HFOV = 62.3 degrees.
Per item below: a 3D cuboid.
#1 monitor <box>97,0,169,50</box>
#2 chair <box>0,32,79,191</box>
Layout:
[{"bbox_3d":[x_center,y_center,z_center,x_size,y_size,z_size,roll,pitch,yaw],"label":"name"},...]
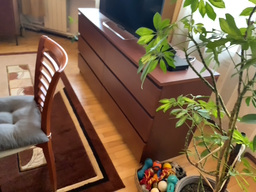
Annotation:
[{"bbox_3d":[-0.010,-0.850,1.770,0.050,0.560,1.010,-11,39,-29],"label":"monitor"},{"bbox_3d":[-0.620,0.160,1.200,0.540,0.900,0.430,-10,39,-28],"label":"chair"}]
